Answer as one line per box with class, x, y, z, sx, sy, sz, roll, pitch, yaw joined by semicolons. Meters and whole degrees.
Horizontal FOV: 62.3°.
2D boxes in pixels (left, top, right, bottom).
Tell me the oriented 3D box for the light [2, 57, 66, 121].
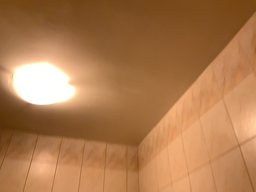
light;-0.580;-0.040;1.340;0.320;0.320;0.120;-33;72;-37
